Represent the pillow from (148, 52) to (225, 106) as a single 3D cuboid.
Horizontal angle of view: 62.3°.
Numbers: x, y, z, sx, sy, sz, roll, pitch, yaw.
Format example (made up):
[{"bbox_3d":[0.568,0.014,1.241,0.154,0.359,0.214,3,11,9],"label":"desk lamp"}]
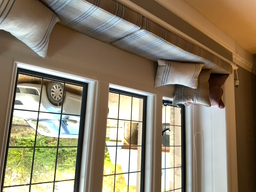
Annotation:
[{"bbox_3d":[0.610,-0.120,2.110,0.810,0.340,0.360,11,167,-42],"label":"pillow"}]
